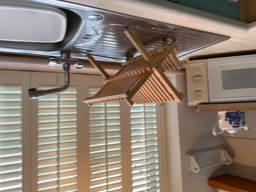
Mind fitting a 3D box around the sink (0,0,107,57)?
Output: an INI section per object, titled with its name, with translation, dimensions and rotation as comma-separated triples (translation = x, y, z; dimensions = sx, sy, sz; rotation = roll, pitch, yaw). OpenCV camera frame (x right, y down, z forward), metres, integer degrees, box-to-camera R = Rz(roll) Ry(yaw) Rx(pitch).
[sink]
translation = -0.350, -0.310, 0.710
dimensions = 0.390, 0.210, 0.490
rotation = 0, 175, -29
